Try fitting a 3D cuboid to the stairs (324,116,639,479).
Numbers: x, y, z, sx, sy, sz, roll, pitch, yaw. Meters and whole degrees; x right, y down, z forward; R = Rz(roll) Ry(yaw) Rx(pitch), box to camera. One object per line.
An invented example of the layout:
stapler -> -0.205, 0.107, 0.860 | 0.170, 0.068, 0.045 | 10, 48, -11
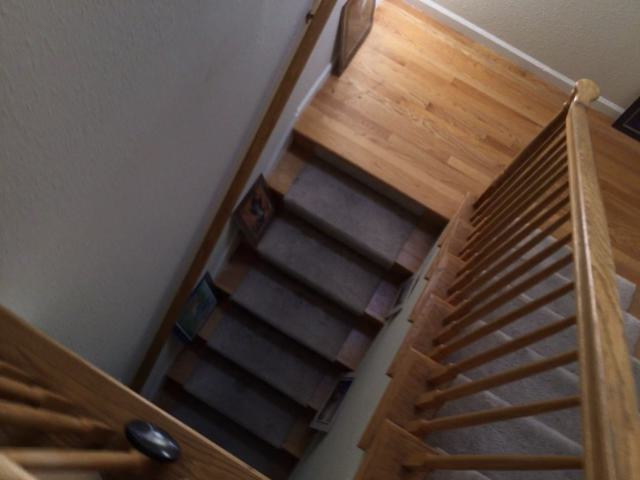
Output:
stairs -> 0.810, 0.460, 2.000 | 1.130, 0.840, 1.120 | 28, 73, 14
